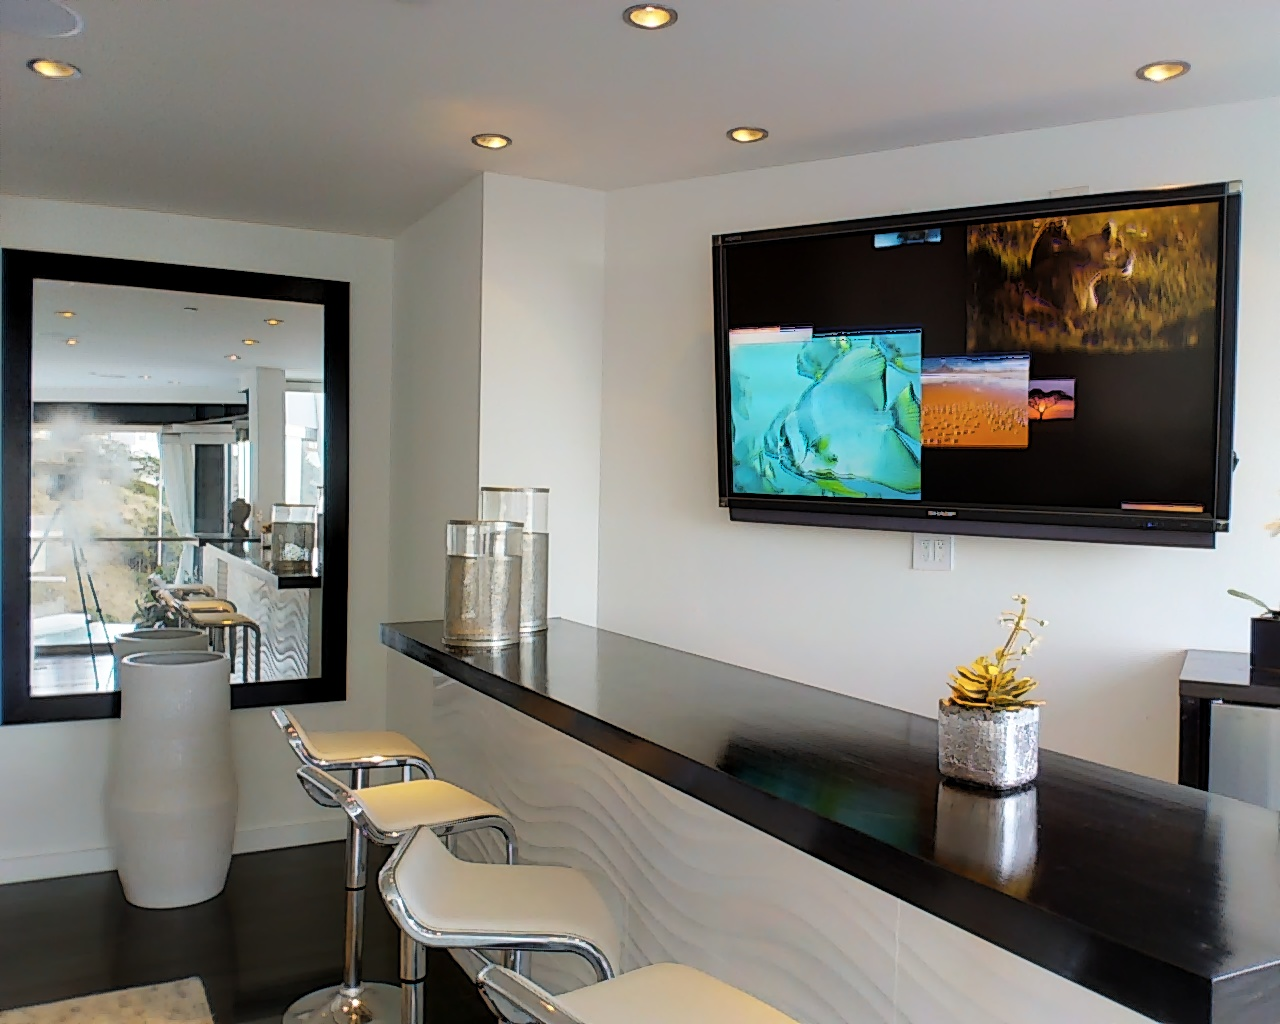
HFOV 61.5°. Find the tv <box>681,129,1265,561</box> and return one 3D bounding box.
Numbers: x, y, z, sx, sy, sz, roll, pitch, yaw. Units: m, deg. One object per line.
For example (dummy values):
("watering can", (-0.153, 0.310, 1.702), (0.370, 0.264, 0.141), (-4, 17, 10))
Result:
("tv", (0.930, -0.430, 3.220), (1.600, 1.070, 0.370), (1, 1, 29))
